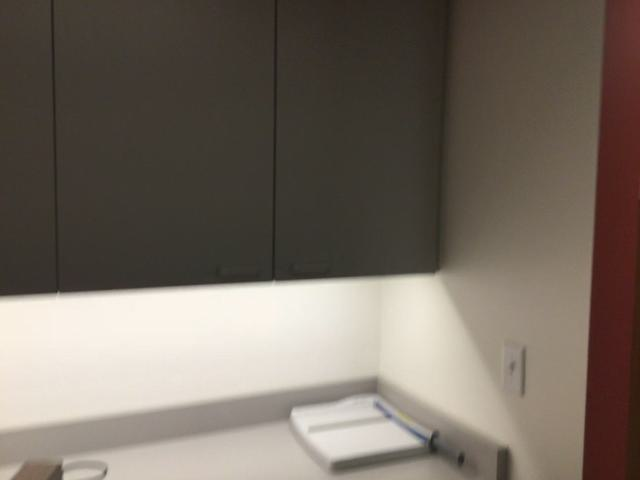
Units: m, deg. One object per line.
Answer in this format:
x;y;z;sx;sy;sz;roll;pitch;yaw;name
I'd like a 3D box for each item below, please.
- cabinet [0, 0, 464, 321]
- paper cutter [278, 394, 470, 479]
-0.550;-0.390;1.200;2.010;1.080;0.140;-2;4;-25;cabinet
0.130;0.570;1.660;0.350;0.060;0.490;-2;4;-25;paper cutter
